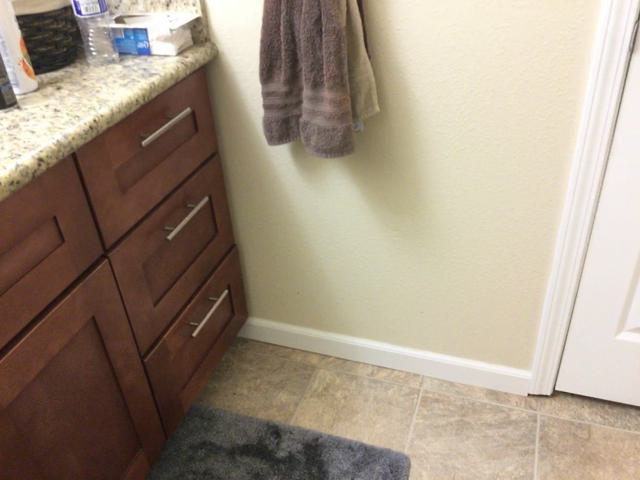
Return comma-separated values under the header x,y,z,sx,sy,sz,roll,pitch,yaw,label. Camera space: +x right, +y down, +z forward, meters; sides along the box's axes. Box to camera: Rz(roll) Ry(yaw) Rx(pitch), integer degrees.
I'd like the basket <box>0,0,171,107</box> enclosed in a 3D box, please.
x,y,z,sx,sy,sz,roll,pitch,yaw,label
-0.590,-0.440,1.230,0.390,0.200,0.310,7,34,19,basket

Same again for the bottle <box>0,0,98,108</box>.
x,y,z,sx,sy,sz,roll,pitch,yaw,label
-0.560,-0.370,1.060,0.220,0.220,0.100,7,34,19,bottle

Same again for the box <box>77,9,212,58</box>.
x,y,z,sx,sy,sz,roll,pitch,yaw,label
-0.380,-0.450,1.260,0.250,0.070,0.120,7,34,19,box
